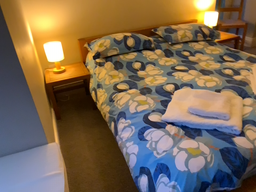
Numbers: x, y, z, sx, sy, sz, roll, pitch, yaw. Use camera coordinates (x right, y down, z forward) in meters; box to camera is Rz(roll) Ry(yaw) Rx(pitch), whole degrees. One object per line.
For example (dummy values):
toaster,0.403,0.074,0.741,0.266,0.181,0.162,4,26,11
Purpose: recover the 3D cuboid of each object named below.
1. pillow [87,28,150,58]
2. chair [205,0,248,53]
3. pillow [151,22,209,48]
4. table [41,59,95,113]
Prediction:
pillow,-0.110,-0.610,2.390,0.620,0.150,0.330,-15,33,-19
chair,1.680,-1.280,3.710,0.460,0.930,0.490,2,31,9
pillow,0.630,-0.770,2.640,0.570,0.150,0.400,-15,33,-19
table,-0.710,-0.140,2.540,0.490,0.420,0.380,-16,34,-20
